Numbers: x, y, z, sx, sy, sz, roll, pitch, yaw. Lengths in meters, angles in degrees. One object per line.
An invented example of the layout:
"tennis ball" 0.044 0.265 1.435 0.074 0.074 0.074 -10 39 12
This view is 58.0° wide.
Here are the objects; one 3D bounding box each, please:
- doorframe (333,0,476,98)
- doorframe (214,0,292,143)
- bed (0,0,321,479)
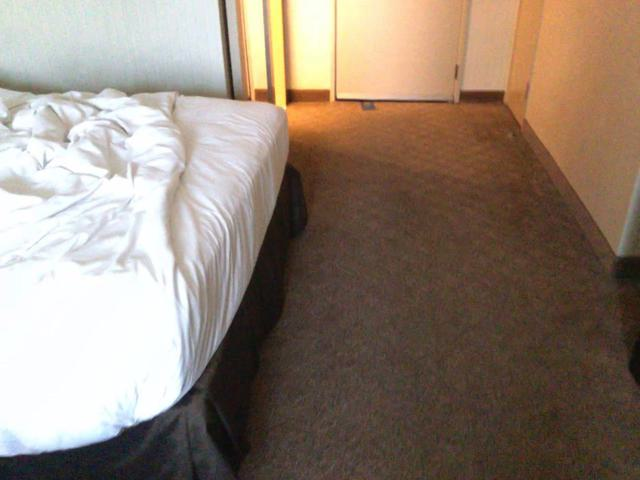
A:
"doorframe" 0.570 -2.180 3.840 1.000 2.450 0.060 1 28 6
"doorframe" -0.450 -2.030 3.550 0.240 2.630 1.070 1 28 6
"bed" -1.210 -0.290 1.760 2.200 1.510 1.800 1 28 6
